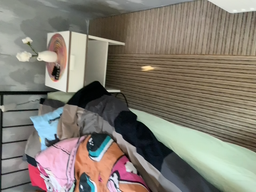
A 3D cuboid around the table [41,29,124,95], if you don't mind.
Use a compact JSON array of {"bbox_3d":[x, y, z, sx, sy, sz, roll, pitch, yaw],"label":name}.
[{"bbox_3d":[-0.410,-0.290,1.900,0.460,0.530,0.480,16,103,46],"label":"table"}]
